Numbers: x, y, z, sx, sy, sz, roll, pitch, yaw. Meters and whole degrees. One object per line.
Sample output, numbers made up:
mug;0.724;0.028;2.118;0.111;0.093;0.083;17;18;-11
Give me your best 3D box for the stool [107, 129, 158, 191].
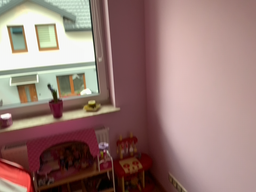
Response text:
stool;0.050;0.730;2.260;0.420;0.580;0.340;-10;19;-23
